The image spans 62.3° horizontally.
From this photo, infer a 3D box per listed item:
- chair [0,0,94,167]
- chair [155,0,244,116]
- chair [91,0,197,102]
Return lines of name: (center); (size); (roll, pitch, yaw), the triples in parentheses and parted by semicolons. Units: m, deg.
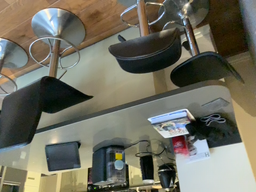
chair: (-0.540, -0.110, 1.420); (0.410, 1.010, 0.430); (-16, 148, 21)
chair: (0.450, -0.310, 1.420); (0.370, 0.750, 0.370); (-14, 148, 19)
chair: (0.080, -0.420, 1.190); (0.390, 0.750, 0.370); (-16, 148, 21)
